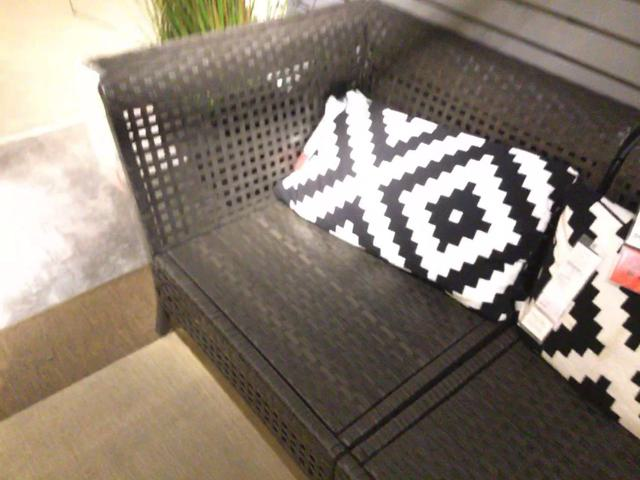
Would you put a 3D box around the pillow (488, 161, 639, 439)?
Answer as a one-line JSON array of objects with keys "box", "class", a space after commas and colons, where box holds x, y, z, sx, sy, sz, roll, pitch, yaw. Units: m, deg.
[{"box": [0.660, 0.180, 0.990, 0.220, 0.330, 0.650, -23, 46, -34], "class": "pillow"}]

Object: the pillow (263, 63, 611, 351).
[{"box": [0.220, -0.120, 1.330, 0.680, 0.300, 0.310, 34, 44, 30], "class": "pillow"}]
